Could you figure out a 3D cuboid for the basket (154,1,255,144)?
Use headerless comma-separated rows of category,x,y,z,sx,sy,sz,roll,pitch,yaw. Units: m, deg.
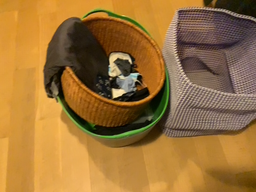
basket,0.350,-0.070,0.860,0.390,0.380,0.420,-4,65,-2

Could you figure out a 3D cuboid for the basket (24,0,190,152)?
basket,-0.100,-0.140,0.900,0.480,0.350,0.620,-7,65,-4
